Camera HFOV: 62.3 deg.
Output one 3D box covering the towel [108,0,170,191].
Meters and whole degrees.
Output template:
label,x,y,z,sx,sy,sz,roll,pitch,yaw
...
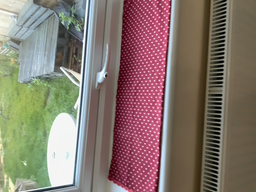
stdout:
label,x,y,z,sx,sy,sz,roll,pitch,yaw
towel,0.030,-0.040,0.690,0.220,0.020,0.670,0,85,51
